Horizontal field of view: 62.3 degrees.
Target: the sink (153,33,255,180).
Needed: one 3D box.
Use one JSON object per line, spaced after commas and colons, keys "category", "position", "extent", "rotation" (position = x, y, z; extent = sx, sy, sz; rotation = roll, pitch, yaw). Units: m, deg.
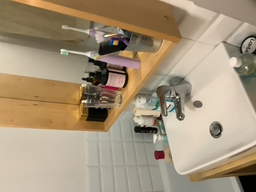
{"category": "sink", "position": [0.310, 0.080, 0.840], "extent": [0.510, 0.130, 0.360], "rotation": [125, 144, -49]}
